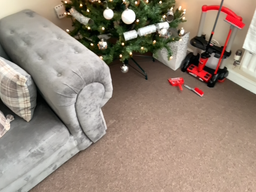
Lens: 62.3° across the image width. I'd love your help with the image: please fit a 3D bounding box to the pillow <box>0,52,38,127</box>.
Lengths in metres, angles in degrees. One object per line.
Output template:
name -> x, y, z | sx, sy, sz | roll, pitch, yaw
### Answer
pillow -> -0.650, -0.050, 1.170 | 0.140, 0.250, 0.350 | -19, 44, -42
